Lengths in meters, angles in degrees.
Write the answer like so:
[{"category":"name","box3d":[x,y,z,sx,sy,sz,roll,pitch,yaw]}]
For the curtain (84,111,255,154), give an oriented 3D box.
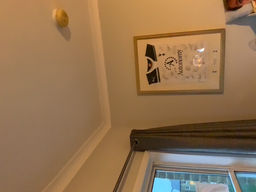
[{"category":"curtain","box3d":[0.730,0.330,2.150,0.610,2.260,0.170,-49,-44,-69]}]
